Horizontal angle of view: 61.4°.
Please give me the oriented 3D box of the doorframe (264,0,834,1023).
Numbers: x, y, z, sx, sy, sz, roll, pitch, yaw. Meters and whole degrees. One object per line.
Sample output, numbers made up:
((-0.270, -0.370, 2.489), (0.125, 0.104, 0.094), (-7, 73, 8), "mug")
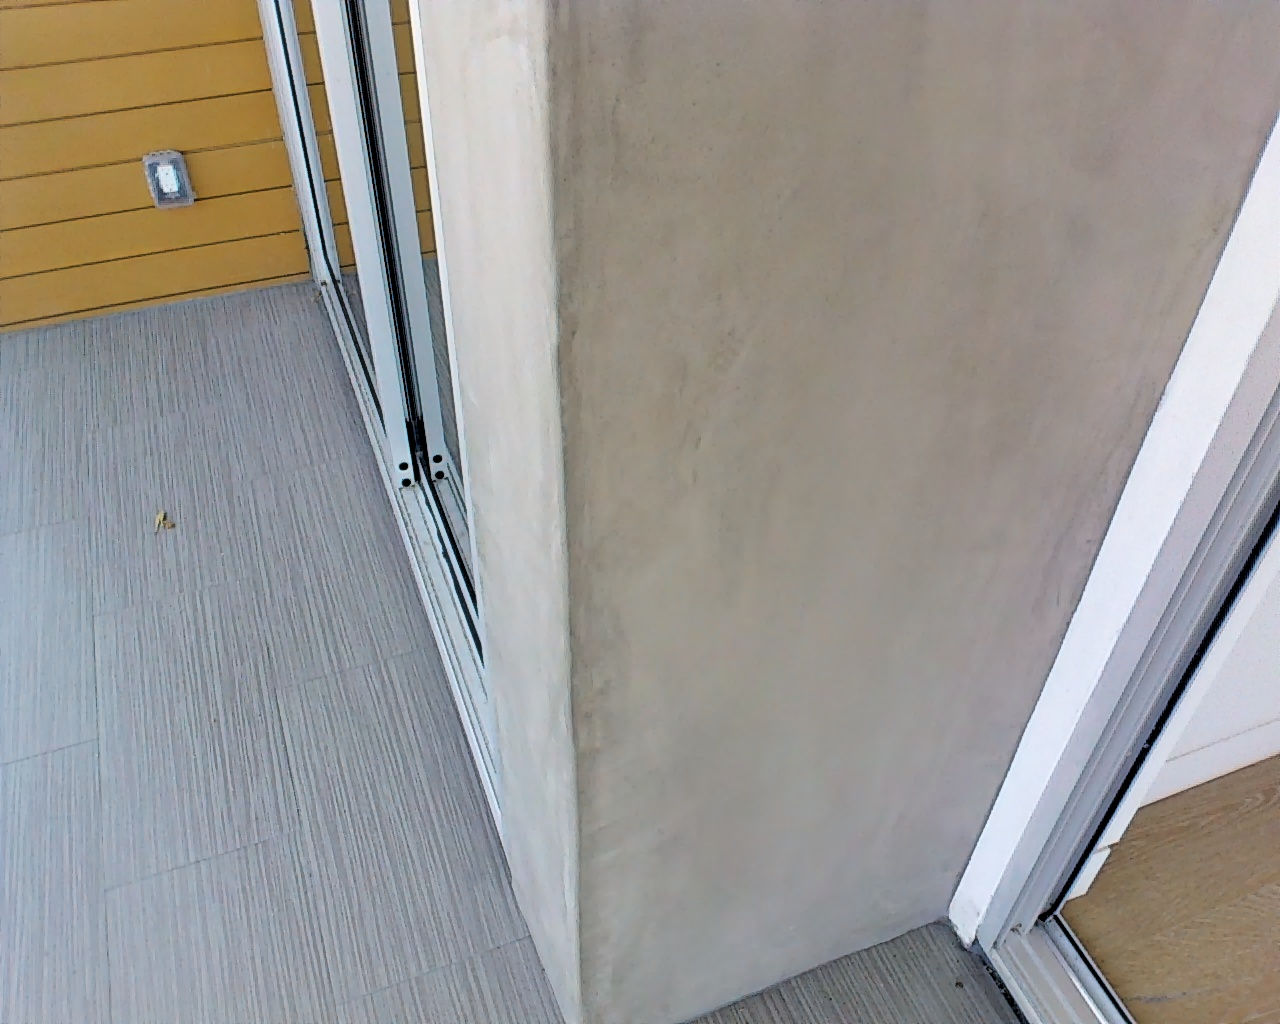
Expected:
((-0.380, -0.980, 1.360), (0.200, 2.810, 2.230), (-14, 45, -16), "doorframe")
